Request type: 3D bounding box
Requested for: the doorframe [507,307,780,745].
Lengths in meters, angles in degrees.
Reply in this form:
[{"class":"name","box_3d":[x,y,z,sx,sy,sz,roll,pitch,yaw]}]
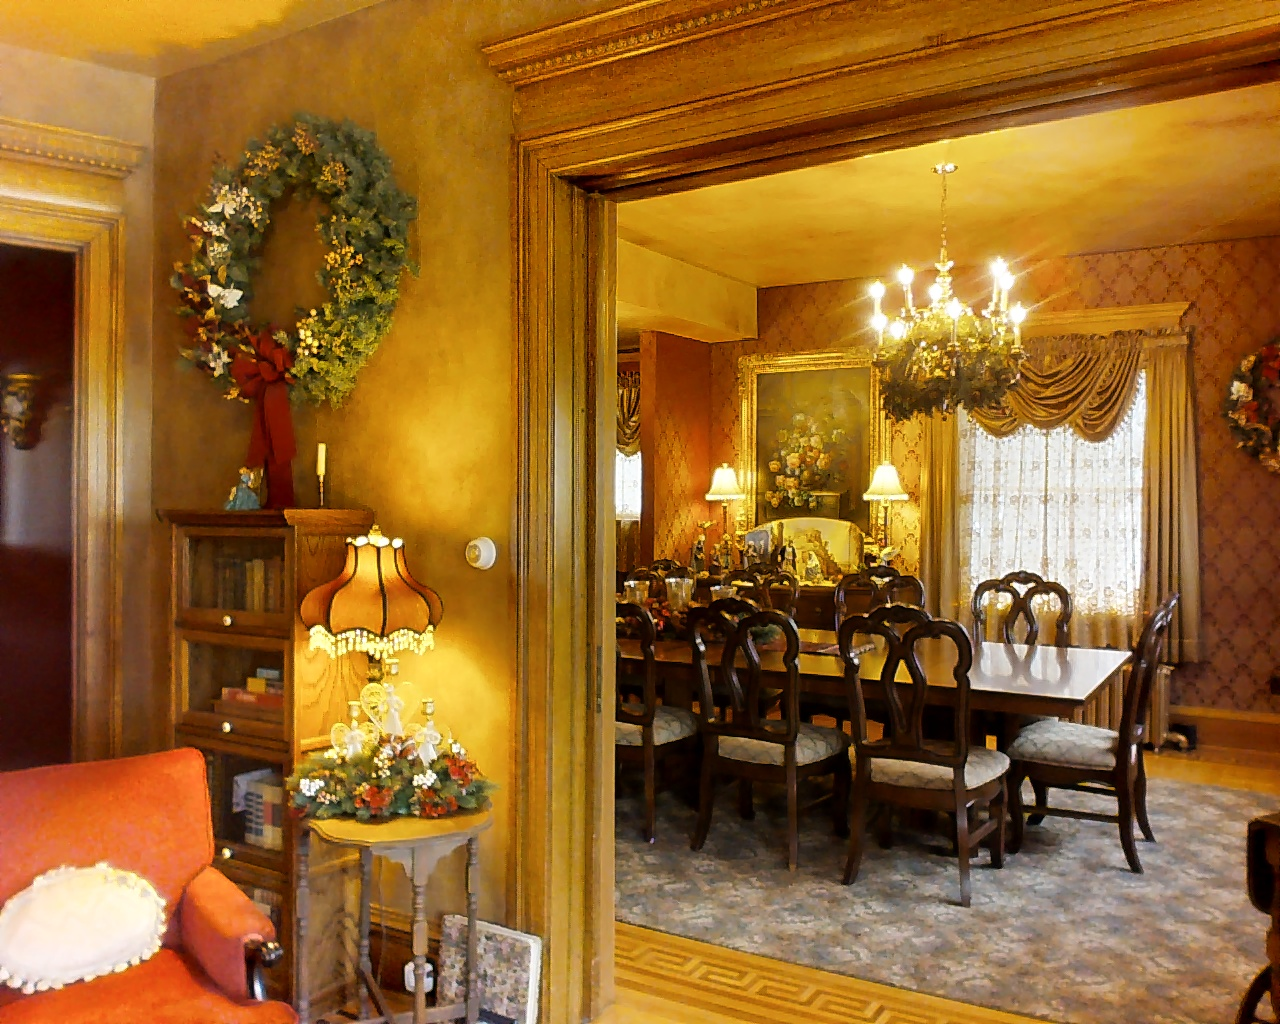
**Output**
[{"class":"doorframe","box_3d":[0.090,0.090,7.510,2.119,2.751,0.290,0,0,-36]}]
